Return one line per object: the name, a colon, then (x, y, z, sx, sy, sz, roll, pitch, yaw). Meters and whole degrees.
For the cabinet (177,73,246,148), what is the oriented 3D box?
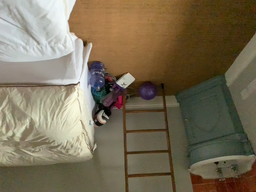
cabinet: (0.800, 0.150, 2.170, 0.380, 0.640, 0.430, -1, 151, -5)
